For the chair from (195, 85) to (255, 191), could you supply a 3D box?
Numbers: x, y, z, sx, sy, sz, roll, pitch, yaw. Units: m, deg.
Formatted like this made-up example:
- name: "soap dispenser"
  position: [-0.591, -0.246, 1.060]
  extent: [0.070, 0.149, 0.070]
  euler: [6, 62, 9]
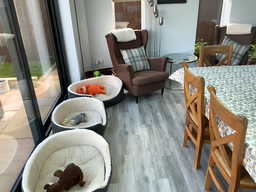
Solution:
- name: "chair"
  position: [0.840, 0.440, 1.530]
  extent: [0.470, 0.930, 0.460]
  euler: [-2, 26, -1]

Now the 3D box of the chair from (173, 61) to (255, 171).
- name: "chair"
  position: [0.760, 0.190, 2.060]
  extent: [0.460, 0.930, 0.460]
  euler: [-3, 26, -3]
